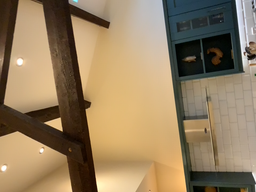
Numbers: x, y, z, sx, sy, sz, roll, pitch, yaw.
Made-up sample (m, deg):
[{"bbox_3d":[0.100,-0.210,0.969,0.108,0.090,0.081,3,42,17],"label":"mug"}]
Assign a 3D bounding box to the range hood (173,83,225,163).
[{"bbox_3d":[0.940,0.350,2.810,0.290,0.520,0.980,-15,-83,-69],"label":"range hood"}]
